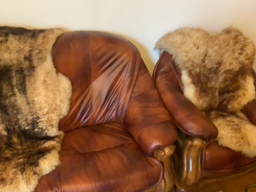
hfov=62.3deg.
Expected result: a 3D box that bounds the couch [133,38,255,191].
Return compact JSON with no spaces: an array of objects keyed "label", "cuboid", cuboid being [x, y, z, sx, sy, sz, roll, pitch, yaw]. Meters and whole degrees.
[{"label":"couch","cuboid":[0.660,0.100,1.730,0.900,0.860,0.870,-7,35,-19]}]

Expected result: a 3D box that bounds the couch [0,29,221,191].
[{"label":"couch","cuboid":[-0.720,0.230,1.230,2.060,0.950,0.850,-7,35,-19]}]
